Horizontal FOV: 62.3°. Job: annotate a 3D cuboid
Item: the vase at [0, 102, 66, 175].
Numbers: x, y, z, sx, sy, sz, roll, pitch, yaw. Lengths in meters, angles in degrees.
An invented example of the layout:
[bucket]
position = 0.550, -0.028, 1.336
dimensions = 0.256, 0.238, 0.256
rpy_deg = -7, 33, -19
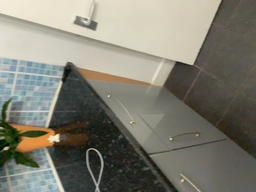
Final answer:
[vase]
position = -0.630, 0.230, 1.200
dimensions = 0.280, 0.410, 0.270
rpy_deg = 54, 125, 36
